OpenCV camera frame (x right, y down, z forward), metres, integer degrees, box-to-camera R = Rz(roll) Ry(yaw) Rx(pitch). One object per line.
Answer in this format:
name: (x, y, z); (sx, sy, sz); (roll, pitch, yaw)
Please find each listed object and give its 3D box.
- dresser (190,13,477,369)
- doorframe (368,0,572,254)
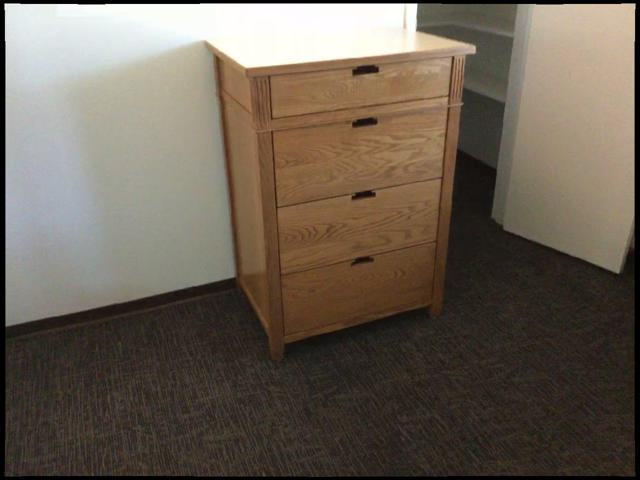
dresser: (0.020, -0.220, 2.210); (0.789, 1.082, 0.630); (-11, 31, -17)
doorframe: (0.669, -0.972, 2.560); (0.789, 2.053, 0.330); (-11, 31, -17)
